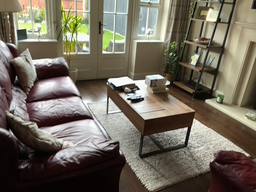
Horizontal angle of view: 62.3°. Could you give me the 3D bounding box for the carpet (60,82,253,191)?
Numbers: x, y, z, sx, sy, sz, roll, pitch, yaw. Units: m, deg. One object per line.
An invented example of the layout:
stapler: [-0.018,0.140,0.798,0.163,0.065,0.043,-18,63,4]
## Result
carpet: [0.110,0.290,2.840,1.560,0.050,2.310,-7,26,-25]

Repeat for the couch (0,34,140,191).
couch: [-0.910,0.070,1.990,1.030,0.940,2.180,-7,26,-26]
